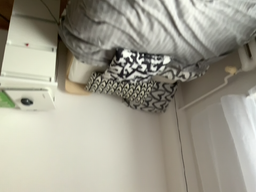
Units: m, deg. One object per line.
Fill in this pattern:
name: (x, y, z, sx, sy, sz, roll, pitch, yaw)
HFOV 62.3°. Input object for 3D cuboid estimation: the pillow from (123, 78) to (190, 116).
pillow: (0.250, 0.030, 2.000, 0.460, 0.180, 0.410, 7, 157, -25)

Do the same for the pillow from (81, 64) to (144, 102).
pillow: (-0.150, -0.090, 1.820, 0.420, 0.130, 0.410, 6, 158, -23)
